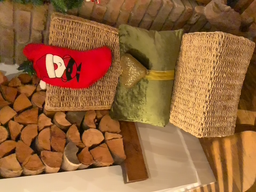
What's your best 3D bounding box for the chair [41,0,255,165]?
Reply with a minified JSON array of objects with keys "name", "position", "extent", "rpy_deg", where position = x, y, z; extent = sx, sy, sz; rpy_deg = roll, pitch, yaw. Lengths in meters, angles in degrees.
[{"name":"chair","position":[0.160,-0.100,1.140],"extent":[0.600,1.070,0.560],"rpy_deg":[25,110,59]}]
